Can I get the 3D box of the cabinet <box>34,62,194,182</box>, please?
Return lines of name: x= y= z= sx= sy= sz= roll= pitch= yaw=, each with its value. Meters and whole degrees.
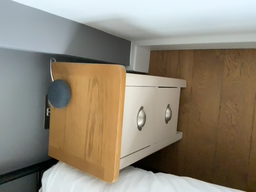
cabinet: x=-0.020 y=0.050 z=0.950 sx=0.420 sy=0.590 sz=0.330 roll=8 pitch=96 yaw=34
